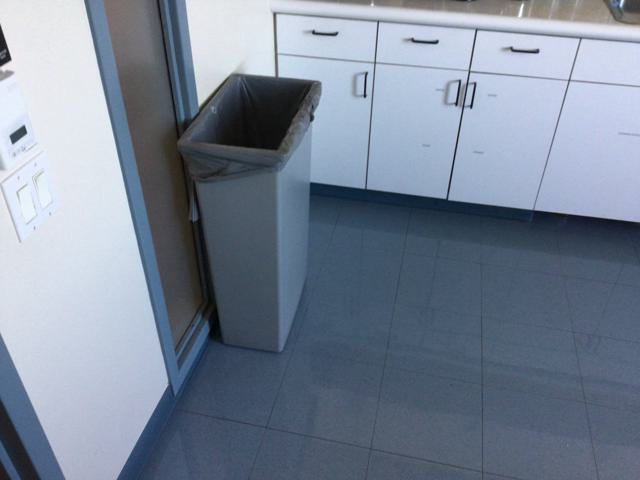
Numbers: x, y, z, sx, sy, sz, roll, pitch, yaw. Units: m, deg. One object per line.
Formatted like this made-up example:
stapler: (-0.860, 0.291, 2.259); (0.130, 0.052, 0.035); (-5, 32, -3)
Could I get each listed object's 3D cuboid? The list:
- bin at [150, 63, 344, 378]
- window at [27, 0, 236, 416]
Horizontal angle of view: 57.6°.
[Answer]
bin: (-0.170, -0.060, 1.810); (0.340, 0.780, 0.510); (11, 39, 15)
window: (-0.400, -0.240, 1.360); (0.110, 1.590, 0.370); (11, 39, 15)
